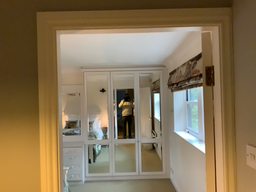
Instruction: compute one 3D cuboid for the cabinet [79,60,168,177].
[{"bbox_3d":[-0.100,0.460,4.520,1.760,2.350,0.310,-2,0,-2],"label":"cabinet"}]
